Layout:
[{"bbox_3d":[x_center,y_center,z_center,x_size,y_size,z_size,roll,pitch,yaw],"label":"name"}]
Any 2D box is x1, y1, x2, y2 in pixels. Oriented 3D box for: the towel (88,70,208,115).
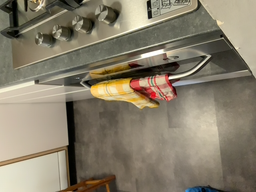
[{"bbox_3d":[0.090,0.000,0.790,0.320,0.340,0.110,-5,87,33],"label":"towel"}]
